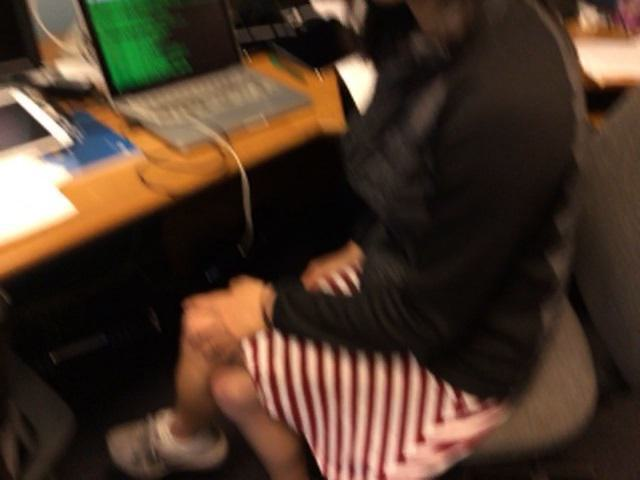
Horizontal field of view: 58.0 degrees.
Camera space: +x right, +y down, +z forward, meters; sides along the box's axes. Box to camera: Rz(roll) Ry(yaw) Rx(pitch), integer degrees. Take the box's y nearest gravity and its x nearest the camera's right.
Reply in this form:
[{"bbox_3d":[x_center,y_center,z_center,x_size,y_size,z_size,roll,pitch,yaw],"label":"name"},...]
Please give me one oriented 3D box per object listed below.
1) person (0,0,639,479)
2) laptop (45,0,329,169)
[{"bbox_3d":[-0.080,0.050,0.890,0.850,1.220,0.360,10,36,12],"label":"person"},{"bbox_3d":[-0.240,-0.360,1.100,0.360,0.230,0.360,28,43,32],"label":"laptop"}]
